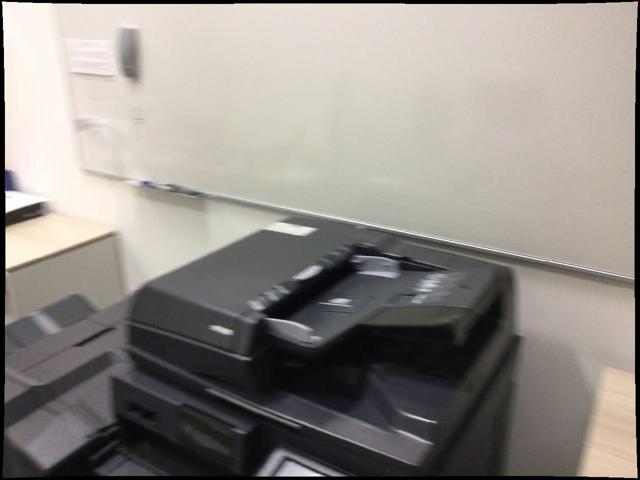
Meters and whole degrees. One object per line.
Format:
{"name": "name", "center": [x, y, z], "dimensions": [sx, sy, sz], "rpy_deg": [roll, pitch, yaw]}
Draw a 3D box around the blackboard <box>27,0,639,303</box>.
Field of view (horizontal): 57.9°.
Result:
{"name": "blackboard", "center": [0.040, -0.531, 1.290], "dimensions": [2.048, 1.101, 0.060], "rpy_deg": [13, 26, 26]}
